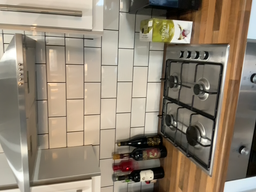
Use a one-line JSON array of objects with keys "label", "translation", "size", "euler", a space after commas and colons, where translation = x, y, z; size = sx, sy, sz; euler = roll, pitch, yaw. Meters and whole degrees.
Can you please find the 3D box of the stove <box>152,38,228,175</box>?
[{"label": "stove", "translation": [0.280, 0.010, 1.150], "size": [0.580, 0.020, 0.580], "euler": [-151, 62, -69]}]
